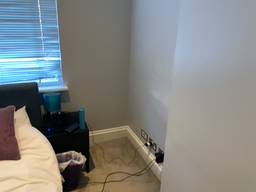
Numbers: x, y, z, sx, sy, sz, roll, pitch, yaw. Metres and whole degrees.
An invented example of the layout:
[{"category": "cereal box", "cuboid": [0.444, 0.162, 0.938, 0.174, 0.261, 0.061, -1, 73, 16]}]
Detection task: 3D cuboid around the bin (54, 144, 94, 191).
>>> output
[{"category": "bin", "cuboid": [-0.490, 0.660, 1.940, 0.320, 0.330, 0.190, -5, 22, -20]}]
